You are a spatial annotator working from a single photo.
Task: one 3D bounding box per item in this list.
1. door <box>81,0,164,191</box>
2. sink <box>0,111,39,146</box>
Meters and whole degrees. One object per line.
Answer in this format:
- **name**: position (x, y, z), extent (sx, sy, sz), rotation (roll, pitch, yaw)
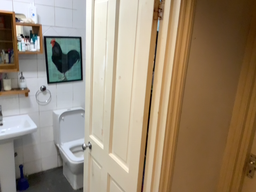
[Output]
- **door**: position (-0.130, 0.300, 1.360), extent (0.050, 2.110, 0.710), rotation (-7, 19, -35)
- **sink**: position (-1.220, 0.320, 2.050), extent (0.560, 0.140, 0.430), rotation (-7, 19, -37)
